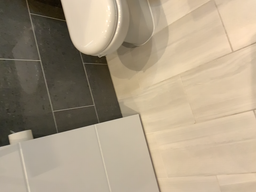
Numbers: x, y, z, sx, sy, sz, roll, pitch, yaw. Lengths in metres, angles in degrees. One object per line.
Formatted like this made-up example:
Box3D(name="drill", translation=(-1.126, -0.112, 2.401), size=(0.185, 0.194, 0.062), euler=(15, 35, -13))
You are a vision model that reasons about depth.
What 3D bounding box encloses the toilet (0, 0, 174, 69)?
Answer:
Box3D(name="toilet", translation=(-0.230, -0.520, 1.110), size=(0.420, 0.810, 0.630), euler=(-23, 81, 39))
